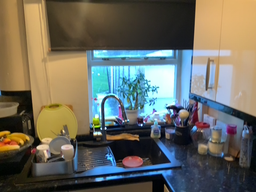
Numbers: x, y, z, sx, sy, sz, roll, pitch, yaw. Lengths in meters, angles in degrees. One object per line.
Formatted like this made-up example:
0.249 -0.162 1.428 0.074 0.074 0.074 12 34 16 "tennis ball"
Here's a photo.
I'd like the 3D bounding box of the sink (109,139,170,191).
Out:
0.060 0.530 1.610 0.350 0.220 0.470 -3 11 -11 "sink"
